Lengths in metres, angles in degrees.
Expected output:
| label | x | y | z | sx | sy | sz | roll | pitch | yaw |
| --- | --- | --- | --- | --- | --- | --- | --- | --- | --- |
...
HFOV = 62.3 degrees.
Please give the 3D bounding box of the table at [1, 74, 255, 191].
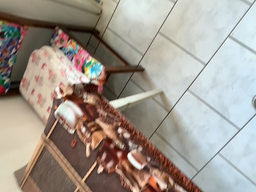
| label | x | y | z | sx | sy | sz | roll | pitch | yaw |
| --- | --- | --- | --- | --- | --- | --- | --- | --- | --- |
| table | 0.180 | 0.400 | 0.880 | 0.990 | 0.780 | 0.440 | 42 | 116 | 19 |
